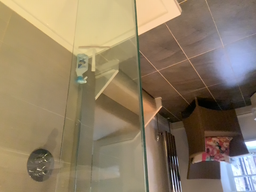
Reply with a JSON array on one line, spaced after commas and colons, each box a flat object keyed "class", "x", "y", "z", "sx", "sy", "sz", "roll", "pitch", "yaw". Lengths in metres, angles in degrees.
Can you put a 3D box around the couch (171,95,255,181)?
[{"class": "couch", "x": 0.980, "y": 0.550, "z": 2.650, "sx": 0.550, "sy": 0.880, "sz": 0.640, "roll": 5, "pitch": 152, "yaw": -13}]
